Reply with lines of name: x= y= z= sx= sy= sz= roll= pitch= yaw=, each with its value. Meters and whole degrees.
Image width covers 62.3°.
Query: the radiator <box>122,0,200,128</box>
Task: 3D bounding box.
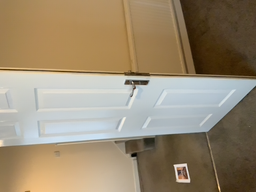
radiator: x=0.290 y=-0.580 z=2.210 sx=0.080 sy=0.610 sz=1.780 roll=137 pitch=129 yaw=-64

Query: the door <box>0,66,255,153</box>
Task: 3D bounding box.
door: x=-0.020 y=0.120 z=1.540 sx=0.780 sy=1.930 sz=0.040 roll=110 pitch=151 yaw=-45
